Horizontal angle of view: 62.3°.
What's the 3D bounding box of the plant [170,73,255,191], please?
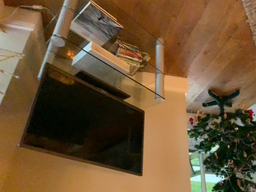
[{"bbox_3d":[0.930,0.670,2.140,0.650,1.390,0.980,9,151,-8],"label":"plant"}]
